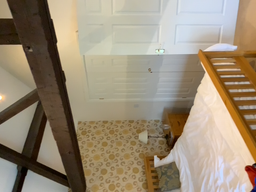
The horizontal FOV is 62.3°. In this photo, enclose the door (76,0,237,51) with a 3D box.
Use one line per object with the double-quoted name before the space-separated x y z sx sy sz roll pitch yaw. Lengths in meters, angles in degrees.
"door" 0.360 -0.960 2.580 0.040 1.920 0.800 -105 14 -72
